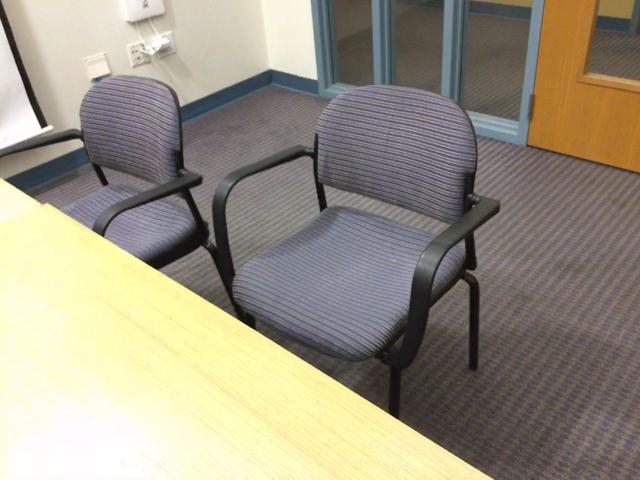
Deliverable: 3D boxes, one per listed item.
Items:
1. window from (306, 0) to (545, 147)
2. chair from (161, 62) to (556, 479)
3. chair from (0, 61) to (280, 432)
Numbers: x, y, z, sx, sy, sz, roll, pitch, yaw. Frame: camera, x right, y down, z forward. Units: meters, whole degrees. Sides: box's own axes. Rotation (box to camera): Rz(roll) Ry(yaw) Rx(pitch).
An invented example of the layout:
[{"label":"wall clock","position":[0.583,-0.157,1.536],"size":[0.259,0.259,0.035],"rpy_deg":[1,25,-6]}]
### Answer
[{"label":"window","position":[0.480,-1.000,2.880],"size":[1.140,0.770,0.330],"rpy_deg":[24,48,37]},{"label":"chair","position":[0.130,0.080,1.440],"size":[0.590,0.780,0.590],"rpy_deg":[24,48,37]},{"label":"chair","position":[-0.590,-0.020,1.670],"size":[0.550,0.720,0.620],"rpy_deg":[24,48,37]}]
